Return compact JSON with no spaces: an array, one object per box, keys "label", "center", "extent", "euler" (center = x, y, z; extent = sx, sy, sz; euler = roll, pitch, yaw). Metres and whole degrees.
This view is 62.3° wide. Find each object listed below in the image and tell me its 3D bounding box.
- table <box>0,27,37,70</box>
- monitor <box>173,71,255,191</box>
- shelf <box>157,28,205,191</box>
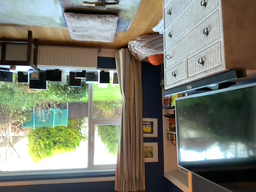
[{"label":"table","center":[-1.530,-0.610,2.790],"extent":[0.520,0.460,0.360],"euler":[1,175,-10]},{"label":"monitor","center":[0.570,0.250,1.500],"extent":[0.030,0.680,1.040],"euler":[1,175,-14]},{"label":"shelf","center":[0.710,0.180,3.050],"extent":[0.260,2.020,0.860],"euler":[1,175,-13]}]
